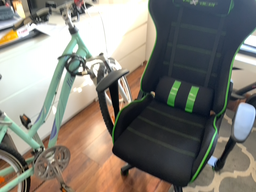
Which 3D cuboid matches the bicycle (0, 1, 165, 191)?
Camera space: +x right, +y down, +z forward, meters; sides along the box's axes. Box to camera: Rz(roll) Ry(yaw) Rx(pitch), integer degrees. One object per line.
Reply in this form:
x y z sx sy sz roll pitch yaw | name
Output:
-0.470 0.230 1.090 0.580 0.980 1.450 24 44 27 | bicycle
